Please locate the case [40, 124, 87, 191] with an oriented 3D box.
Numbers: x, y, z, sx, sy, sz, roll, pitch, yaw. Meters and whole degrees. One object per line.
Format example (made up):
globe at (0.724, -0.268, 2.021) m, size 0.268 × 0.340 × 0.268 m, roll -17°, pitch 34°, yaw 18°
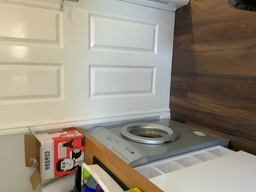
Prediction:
case at (-0.420, 0.400, 1.380) m, size 0.200 × 0.240 × 0.360 m, roll 18°, pitch 108°, yaw 56°
